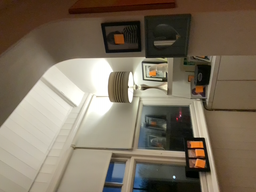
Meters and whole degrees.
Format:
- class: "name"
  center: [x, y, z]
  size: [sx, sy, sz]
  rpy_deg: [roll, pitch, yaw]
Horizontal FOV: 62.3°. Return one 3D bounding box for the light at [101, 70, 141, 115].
- class: "light"
  center: [-0.060, -0.040, 2.410]
  size: [0.290, 0.370, 0.410]
  rpy_deg: [-77, -16, -52]
